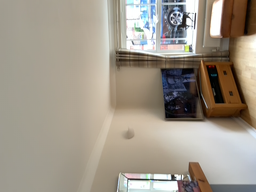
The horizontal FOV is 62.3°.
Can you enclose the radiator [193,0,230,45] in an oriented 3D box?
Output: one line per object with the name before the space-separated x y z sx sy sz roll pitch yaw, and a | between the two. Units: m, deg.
radiator | 1.540 -1.500 3.910 0.140 0.580 1.060 -82 -9 -78
